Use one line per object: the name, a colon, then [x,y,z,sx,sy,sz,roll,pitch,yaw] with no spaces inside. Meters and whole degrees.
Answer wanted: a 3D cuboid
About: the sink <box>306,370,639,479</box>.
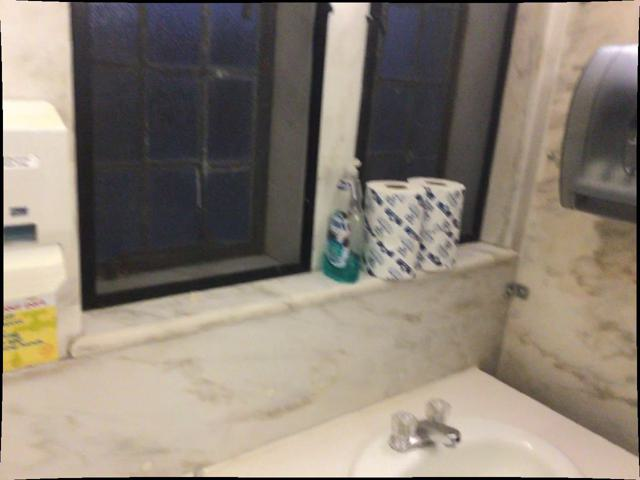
sink: [0.290,0.500,1.100,0.490,0.220,0.410,-9,21,-39]
